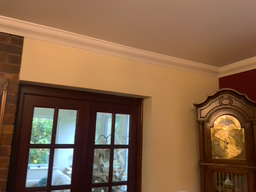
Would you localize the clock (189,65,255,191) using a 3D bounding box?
[{"bbox_3d":[0.940,0.910,1.940,0.690,2.290,0.540,-1,-10,18],"label":"clock"}]
